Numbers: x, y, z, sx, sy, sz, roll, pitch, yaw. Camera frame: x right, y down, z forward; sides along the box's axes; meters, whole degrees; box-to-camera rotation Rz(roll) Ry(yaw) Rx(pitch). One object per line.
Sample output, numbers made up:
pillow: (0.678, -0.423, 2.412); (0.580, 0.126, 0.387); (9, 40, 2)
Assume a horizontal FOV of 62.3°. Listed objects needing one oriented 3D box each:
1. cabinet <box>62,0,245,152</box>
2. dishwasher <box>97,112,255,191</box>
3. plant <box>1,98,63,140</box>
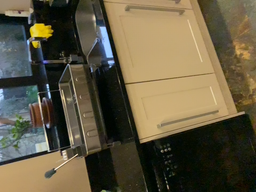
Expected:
cabinet: (0.130, -0.370, 1.620); (0.580, 0.910, 1.330); (-32, 70, 59)
dishwasher: (0.380, 0.540, 1.440); (0.610, 0.910, 0.600); (-32, 70, 59)
plant: (-0.700, 0.170, 1.550); (0.260, 0.350, 0.210); (-29, 73, 59)
